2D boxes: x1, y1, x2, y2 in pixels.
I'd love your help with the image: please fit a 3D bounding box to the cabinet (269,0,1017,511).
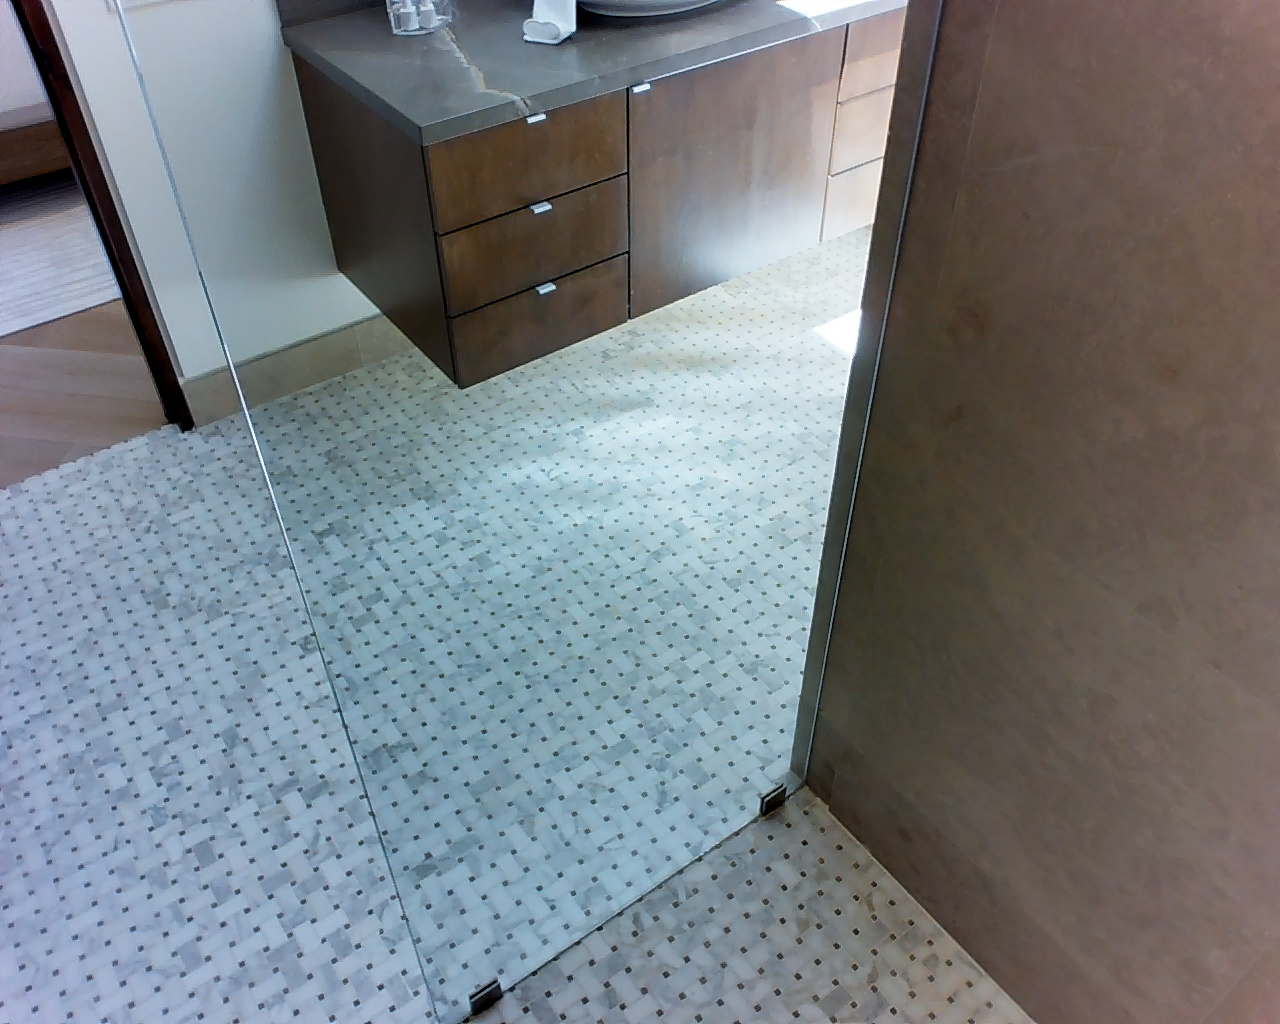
[{"bbox_3d":[0.080,-0.870,2.720,1.620,0.970,0.670,-27,49,-25],"label":"cabinet"}]
